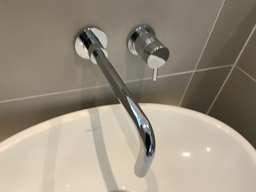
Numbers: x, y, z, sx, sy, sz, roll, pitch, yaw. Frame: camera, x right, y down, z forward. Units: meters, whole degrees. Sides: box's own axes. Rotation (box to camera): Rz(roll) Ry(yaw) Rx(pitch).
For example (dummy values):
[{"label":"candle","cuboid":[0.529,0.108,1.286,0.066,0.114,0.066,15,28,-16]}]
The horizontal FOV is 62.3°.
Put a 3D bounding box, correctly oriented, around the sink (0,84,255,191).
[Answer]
[{"label":"sink","cuboid":[0.000,0.180,0.370,0.580,0.110,0.370,-12,46,-25]}]
